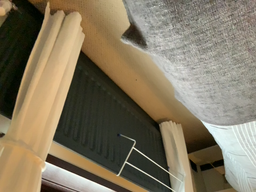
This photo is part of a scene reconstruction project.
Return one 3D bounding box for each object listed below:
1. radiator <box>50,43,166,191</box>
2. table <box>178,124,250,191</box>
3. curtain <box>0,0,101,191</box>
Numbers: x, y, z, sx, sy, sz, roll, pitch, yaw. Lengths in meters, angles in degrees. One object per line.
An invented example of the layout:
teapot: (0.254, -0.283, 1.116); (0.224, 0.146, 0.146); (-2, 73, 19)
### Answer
radiator: (-0.040, 0.170, 1.340); (0.050, 0.620, 0.910); (-26, 133, 25)
table: (0.790, 0.740, 1.890); (0.400, 0.780, 0.430); (-26, 133, 25)
curtain: (-0.350, 0.530, 0.420); (0.350, 2.240, 0.280); (-28, 132, 27)
